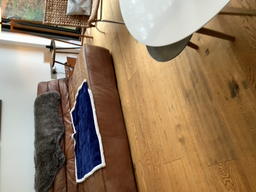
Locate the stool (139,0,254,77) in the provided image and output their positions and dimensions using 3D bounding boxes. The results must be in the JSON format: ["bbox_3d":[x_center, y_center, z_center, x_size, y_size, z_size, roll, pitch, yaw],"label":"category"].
[{"bbox_3d":[0.350,-0.400,1.210,0.390,0.340,0.410,-49,48,49],"label":"stool"}]
